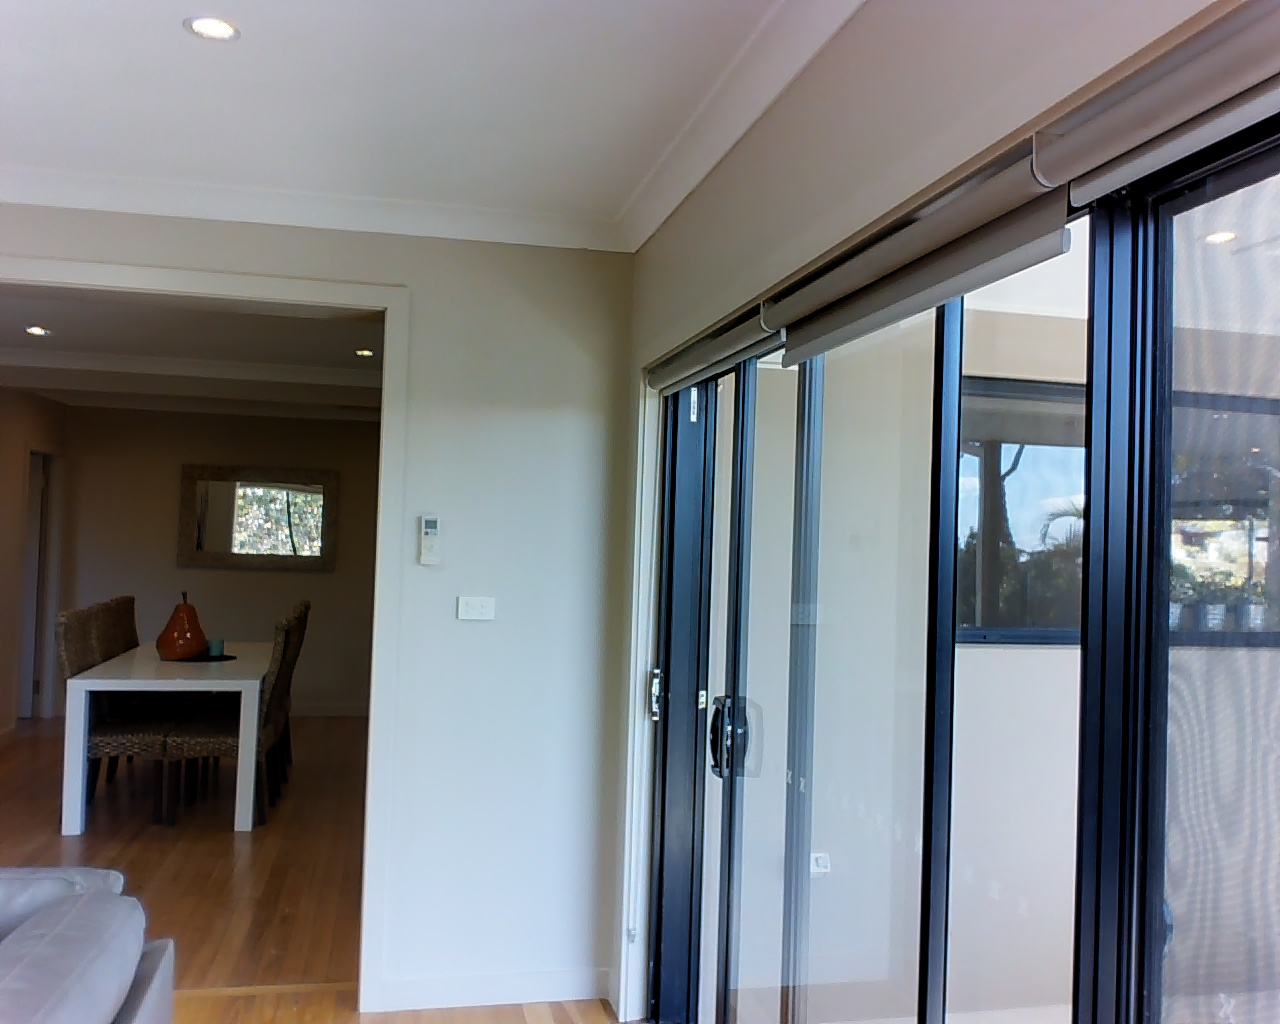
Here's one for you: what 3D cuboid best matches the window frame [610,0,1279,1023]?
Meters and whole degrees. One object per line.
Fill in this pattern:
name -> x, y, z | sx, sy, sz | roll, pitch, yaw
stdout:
window frame -> 0.450, 0.570, 2.030 | 0.350, 2.141, 3.010 | 2, -2, -13
